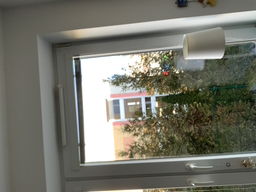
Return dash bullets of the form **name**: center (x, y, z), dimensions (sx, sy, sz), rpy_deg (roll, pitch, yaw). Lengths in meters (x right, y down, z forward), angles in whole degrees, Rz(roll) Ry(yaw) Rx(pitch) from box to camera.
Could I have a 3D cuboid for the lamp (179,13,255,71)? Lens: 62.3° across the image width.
- **lamp**: center (0.570, -0.310, 1.200), dimensions (0.190, 0.500, 0.220), rpy_deg (81, -174, -48)
